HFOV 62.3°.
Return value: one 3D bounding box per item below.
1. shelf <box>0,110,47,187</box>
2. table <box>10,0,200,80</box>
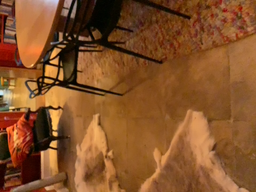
[{"bbox_3d":[-2.650,0.950,3.810,0.470,2.200,1.330,-7,83,54],"label":"shelf"},{"bbox_3d":[-0.520,-1.380,2.100,2.230,0.830,2.190,-3,86,54],"label":"table"}]
